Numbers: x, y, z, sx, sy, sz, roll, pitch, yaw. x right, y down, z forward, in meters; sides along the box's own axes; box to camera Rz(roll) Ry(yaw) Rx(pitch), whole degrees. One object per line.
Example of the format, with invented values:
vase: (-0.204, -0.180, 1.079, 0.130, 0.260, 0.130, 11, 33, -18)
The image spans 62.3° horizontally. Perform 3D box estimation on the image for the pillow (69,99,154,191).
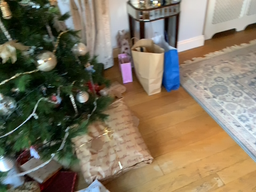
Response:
pillow: (-0.100, 0.320, 1.430, 0.410, 0.320, 0.360, -25, 46, -20)
